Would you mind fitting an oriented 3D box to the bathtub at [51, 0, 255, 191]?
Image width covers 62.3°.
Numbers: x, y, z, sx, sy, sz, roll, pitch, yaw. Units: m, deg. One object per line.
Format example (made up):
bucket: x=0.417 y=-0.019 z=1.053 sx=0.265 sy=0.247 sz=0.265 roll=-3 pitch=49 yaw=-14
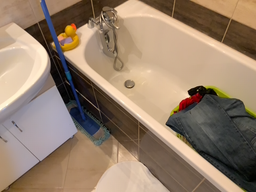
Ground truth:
bathtub: x=0.370 y=0.120 z=1.290 sx=0.680 sy=0.610 sz=1.650 roll=-39 pitch=62 yaw=-24
